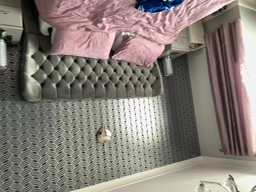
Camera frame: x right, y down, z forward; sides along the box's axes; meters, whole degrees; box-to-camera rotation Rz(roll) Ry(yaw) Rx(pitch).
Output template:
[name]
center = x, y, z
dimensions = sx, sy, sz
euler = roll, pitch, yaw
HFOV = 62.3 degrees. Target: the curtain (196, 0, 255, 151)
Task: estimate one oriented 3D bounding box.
[curtain]
center = 1.420, -0.350, 3.040
dimensions = 0.240, 2.160, 0.570
euler = -2, 173, -31
